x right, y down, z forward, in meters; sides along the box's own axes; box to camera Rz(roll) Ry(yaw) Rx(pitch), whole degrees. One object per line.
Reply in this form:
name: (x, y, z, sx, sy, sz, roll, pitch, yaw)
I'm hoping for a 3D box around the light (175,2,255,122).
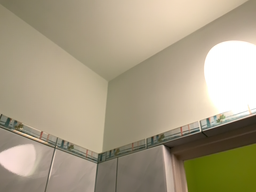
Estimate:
light: (0.290, -0.080, 0.570, 0.250, 0.190, 0.220, -11, 54, 34)
